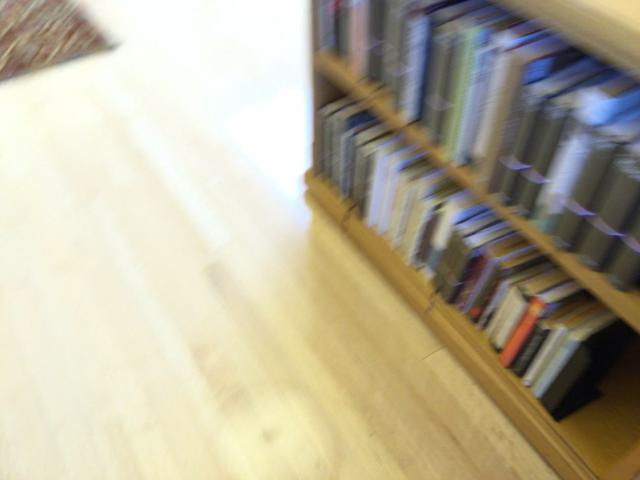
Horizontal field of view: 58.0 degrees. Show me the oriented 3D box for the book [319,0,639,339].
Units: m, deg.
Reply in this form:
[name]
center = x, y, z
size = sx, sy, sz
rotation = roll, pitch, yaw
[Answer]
[book]
center = 0.280, -0.240, 0.910
size = 0.190, 0.300, 0.740
rotation = -24, 53, -22
